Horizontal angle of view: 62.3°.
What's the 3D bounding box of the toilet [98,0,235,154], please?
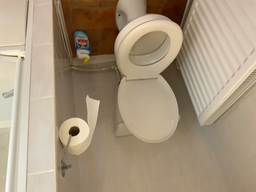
[{"bbox_3d":[0.100,-0.190,1.300,0.460,0.850,0.650,-7,151,-9],"label":"toilet"}]
